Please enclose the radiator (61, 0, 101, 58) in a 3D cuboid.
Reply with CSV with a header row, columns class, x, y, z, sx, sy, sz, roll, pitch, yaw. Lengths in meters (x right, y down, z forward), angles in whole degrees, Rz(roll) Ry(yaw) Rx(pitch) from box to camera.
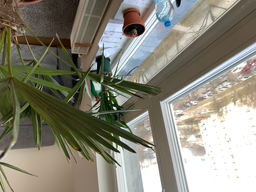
class,x,y,z,sx,sy,sz,roll,pitch,yaw
radiator,-0.260,-0.780,1.450,0.120,0.290,1.580,1,159,-27
